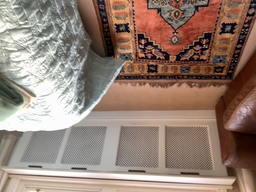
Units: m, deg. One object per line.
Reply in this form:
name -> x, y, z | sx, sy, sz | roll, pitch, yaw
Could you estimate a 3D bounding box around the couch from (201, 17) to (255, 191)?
couch -> 1.200, 0.190, 1.380 | 1.010, 0.840, 1.020 | 8, 141, 0
